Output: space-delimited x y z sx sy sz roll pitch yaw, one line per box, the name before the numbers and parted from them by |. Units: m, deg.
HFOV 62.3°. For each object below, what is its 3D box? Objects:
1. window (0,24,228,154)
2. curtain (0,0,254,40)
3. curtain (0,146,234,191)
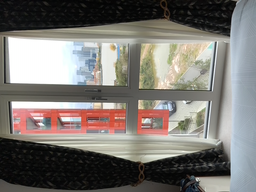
window | -0.170 -0.030 2.420 0.110 2.670 1.340 -144 56 -79
curtain | -0.060 -0.830 1.930 0.260 2.470 0.430 -165 77 -81
curtain | -0.130 0.780 2.240 0.310 2.500 0.380 -159 70 -80
